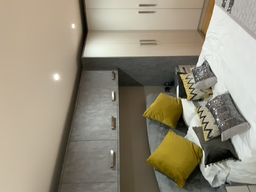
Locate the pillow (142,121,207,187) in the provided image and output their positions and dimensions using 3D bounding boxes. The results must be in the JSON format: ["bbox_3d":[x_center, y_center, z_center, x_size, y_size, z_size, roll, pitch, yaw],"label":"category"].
[{"bbox_3d":[0.510,0.660,2.410,0.240,0.460,0.540,29,-154,-50],"label":"pillow"}]

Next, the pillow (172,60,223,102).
[{"bbox_3d":[0.860,-0.200,2.630,0.490,0.400,0.190,23,134,18],"label":"pillow"}]

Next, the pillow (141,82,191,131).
[{"bbox_3d":[0.520,0.150,2.960,0.510,0.440,0.180,43,178,13],"label":"pillow"}]
